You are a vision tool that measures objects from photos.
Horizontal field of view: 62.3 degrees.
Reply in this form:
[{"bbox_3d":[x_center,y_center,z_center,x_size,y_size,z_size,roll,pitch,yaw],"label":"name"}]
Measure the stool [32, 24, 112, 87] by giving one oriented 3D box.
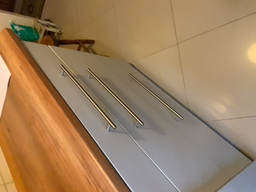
[{"bbox_3d":[-0.460,-0.310,1.750,0.320,0.470,0.330,49,122,31],"label":"stool"}]
